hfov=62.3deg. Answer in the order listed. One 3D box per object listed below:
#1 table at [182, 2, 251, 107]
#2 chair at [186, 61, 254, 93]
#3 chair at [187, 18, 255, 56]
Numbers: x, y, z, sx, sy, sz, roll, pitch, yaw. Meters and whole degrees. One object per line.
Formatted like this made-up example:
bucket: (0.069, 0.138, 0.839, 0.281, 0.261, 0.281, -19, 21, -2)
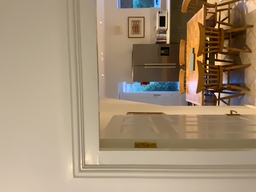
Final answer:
table: (1.430, -0.640, 3.620, 0.940, 0.750, 1.530, -83, -8, -85)
chair: (1.390, -0.290, 3.310, 0.550, 0.820, 0.440, -83, -8, -85)
chair: (1.390, -0.870, 3.240, 0.560, 0.820, 0.490, -87, -4, -80)
